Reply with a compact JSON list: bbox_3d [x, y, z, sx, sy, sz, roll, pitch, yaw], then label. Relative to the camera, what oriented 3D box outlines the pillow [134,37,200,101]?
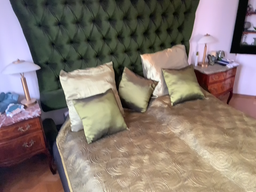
[{"bbox_3d":[0.450,-0.290,2.440,0.610,0.580,0.230,11,4,-24],"label":"pillow"}]

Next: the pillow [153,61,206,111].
[{"bbox_3d":[0.570,-0.100,2.320,0.440,0.380,0.220,23,-9,-25],"label":"pillow"}]

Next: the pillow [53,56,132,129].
[{"bbox_3d":[-0.350,-0.020,2.090,0.630,0.620,0.260,6,9,-29],"label":"pillow"}]

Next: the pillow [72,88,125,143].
[{"bbox_3d":[-0.260,0.160,1.920,0.370,0.310,0.280,-17,30,-28],"label":"pillow"}]

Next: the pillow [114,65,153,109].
[{"bbox_3d":[0.060,-0.100,2.300,0.330,0.390,0.190,12,5,1],"label":"pillow"}]

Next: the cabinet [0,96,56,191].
[{"bbox_3d":[-1.020,0.430,1.970,0.510,0.700,0.330,-14,29,-25],"label":"cabinet"}]
